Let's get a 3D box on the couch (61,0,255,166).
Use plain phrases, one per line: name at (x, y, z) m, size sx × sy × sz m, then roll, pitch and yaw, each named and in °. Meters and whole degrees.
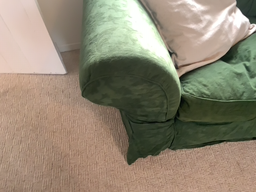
couch at (0.770, -0.400, 1.220) m, size 2.040 × 0.740 × 1.030 m, roll -9°, pitch 53°, yaw -3°
